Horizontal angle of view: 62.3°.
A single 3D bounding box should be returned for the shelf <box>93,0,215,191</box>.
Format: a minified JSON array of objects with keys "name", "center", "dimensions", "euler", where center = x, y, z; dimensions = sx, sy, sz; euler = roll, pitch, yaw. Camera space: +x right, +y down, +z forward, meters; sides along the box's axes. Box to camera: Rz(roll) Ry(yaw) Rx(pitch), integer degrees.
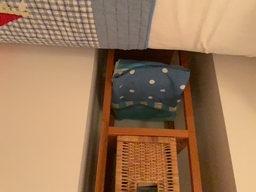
[{"name":"shelf","center":[0.090,0.150,1.040],"dimensions":[0.420,1.400,0.410],"euler":[3,154,-2]}]
